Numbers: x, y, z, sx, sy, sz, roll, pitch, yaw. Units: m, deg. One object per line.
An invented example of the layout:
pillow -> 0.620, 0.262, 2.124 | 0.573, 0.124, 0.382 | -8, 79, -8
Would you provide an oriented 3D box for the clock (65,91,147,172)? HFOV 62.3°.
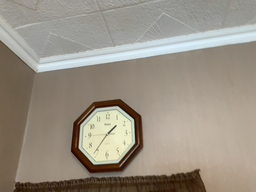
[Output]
clock -> -0.090, 0.150, 0.900 | 0.310, 0.300, 0.080 | -7, -26, 9
